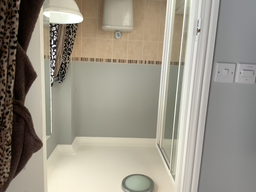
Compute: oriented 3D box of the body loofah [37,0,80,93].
[{"bbox_3d":[-0.710,-0.580,2.260,0.250,1.000,0.610,3,-169,-1],"label":"body loofah"}]
